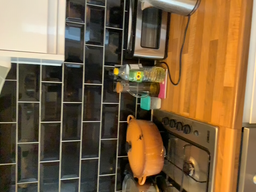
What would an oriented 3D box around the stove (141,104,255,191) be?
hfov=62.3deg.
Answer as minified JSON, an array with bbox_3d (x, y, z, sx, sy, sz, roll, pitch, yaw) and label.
[{"bbox_3d":[0.280,0.360,1.030,0.540,0.210,0.580,-167,78,-70],"label":"stove"}]

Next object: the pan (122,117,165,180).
[{"bbox_3d":[0.070,0.250,1.070,0.190,0.140,0.250,-167,78,-70],"label":"pan"}]
